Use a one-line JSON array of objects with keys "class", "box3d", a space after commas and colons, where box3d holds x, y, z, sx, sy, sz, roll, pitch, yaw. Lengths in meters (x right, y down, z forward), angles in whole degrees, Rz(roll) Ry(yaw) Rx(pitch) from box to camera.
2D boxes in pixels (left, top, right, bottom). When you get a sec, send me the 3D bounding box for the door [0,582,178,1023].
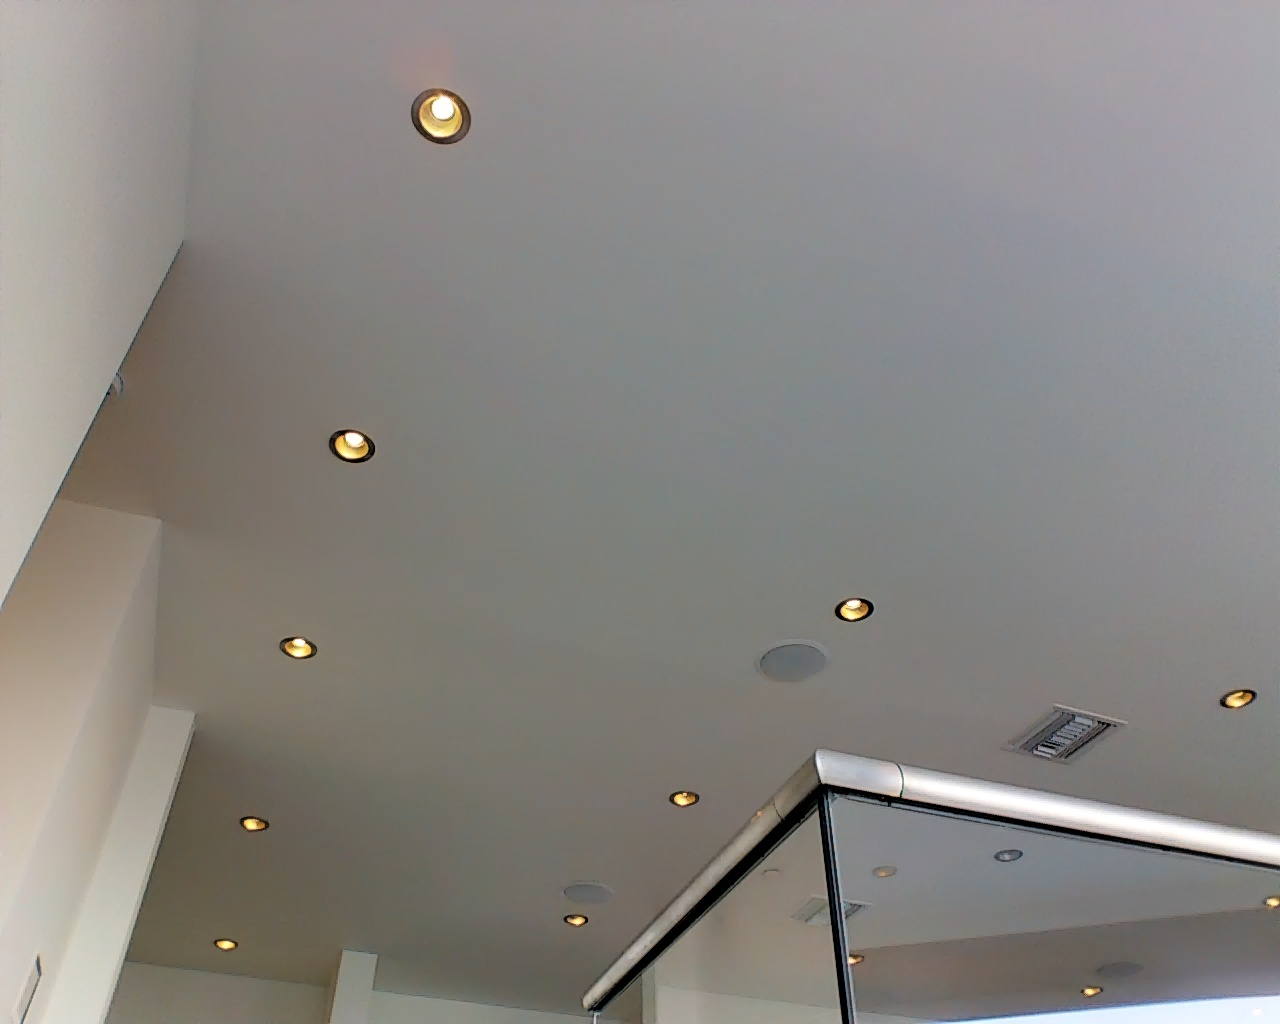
[{"class": "door", "box3d": [-1.649, 1.471, 2.830, 0.090, 2.491, 1.010, 14, -44, -14]}]
